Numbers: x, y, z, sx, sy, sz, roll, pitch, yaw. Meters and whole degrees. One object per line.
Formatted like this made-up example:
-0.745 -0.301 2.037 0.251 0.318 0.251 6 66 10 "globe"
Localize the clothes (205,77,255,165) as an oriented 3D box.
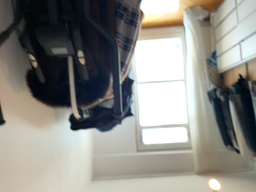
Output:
1.500 0.310 2.880 0.620 1.020 0.790 -4 176 7 "clothes"
